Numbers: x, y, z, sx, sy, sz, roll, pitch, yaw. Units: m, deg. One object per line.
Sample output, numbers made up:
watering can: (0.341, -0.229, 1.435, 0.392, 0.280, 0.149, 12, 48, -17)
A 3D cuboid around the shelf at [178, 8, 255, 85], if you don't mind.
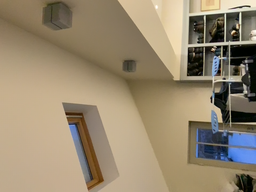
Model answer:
shelf: (2.080, -0.880, 3.850, 0.370, 2.210, 1.290, 22, -109, -69)
